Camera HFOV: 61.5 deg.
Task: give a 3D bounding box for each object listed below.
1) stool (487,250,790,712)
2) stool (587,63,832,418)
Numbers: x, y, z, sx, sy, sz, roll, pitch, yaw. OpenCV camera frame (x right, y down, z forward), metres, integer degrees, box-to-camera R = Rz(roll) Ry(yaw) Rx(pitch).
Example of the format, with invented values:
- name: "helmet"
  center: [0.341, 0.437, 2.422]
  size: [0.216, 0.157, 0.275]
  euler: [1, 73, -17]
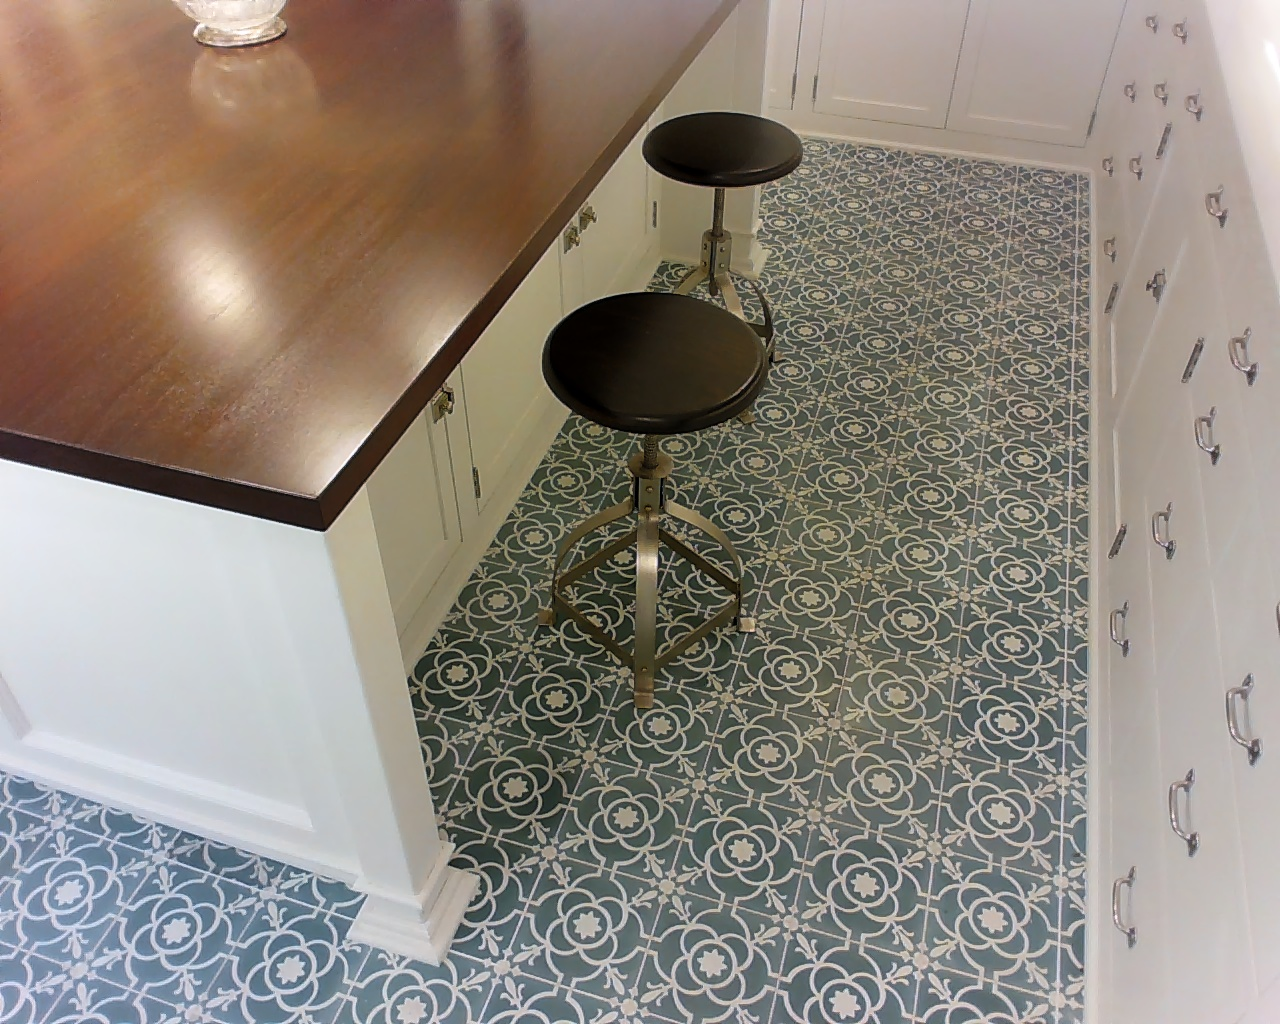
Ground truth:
- name: "stool"
  center: [0.010, -0.050, 1.910]
  size: [0.370, 0.640, 0.420]
  euler: [12, 43, 12]
- name: "stool"
  center: [0.160, -0.650, 2.590]
  size: [0.440, 0.660, 0.390]
  euler: [14, 44, 15]
